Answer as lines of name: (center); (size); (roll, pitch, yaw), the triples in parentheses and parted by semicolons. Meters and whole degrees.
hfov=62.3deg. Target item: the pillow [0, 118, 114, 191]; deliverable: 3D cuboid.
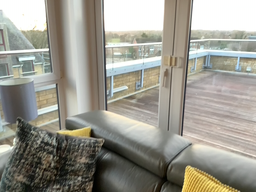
pillow: (-0.420, 0.430, 1.230); (0.500, 0.460, 0.110); (-29, 25, 17)
